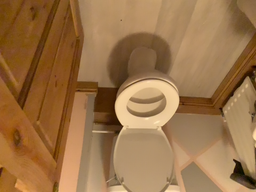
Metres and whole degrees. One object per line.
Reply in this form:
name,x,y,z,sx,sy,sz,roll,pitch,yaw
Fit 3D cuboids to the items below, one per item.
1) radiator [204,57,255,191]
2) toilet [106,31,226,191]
radiator,0.780,0.210,1.430,0.140,0.720,0.600,2,143,-6
toilet,0.110,0.150,1.320,0.440,0.800,0.690,3,143,-7
